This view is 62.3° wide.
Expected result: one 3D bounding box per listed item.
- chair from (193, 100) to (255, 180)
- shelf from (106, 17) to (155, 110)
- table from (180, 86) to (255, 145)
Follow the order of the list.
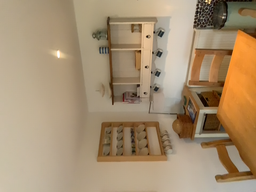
[{"bbox_3d":[1.180,0.370,1.810,0.420,1.040,0.520,-93,3,-52],"label":"chair"},{"bbox_3d":[0.030,-0.400,2.950,0.190,0.590,1.300,-93,2,-58],"label":"shelf"},{"bbox_3d":[1.270,0.260,3.000,0.630,0.840,0.550,-93,3,-57],"label":"table"}]
